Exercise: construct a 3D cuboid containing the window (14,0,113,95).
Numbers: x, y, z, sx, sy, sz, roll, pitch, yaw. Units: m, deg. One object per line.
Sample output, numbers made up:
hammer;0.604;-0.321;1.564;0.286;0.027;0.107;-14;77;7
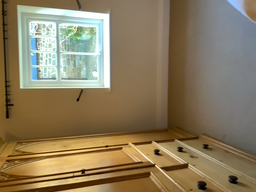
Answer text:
window;-0.840;-0.650;2.910;0.530;1.170;1.200;-166;75;-70
